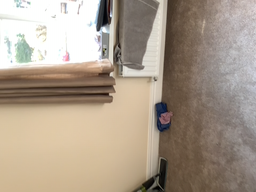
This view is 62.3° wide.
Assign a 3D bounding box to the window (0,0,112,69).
[{"bbox_3d":[-0.850,-0.780,1.860,0.410,1.370,1.040,24,114,58],"label":"window"}]

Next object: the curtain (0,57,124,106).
[{"bbox_3d":[-0.730,-0.120,1.750,0.180,1.470,0.350,-3,91,61],"label":"curtain"}]
